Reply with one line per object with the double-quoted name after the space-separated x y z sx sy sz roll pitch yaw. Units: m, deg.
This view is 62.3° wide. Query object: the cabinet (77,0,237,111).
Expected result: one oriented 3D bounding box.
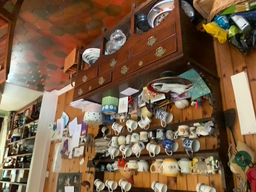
0.140 -0.390 1.970 0.500 0.720 1.380 19 153 -39 "cabinet"
